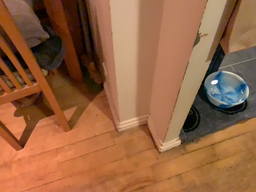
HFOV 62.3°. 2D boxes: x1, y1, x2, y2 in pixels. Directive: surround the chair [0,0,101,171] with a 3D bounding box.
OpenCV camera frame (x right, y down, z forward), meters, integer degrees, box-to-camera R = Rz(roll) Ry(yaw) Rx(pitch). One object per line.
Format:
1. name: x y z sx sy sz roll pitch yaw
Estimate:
1. chair: -0.440 -0.180 0.840 0.360 1.080 0.530 -24 58 -15
